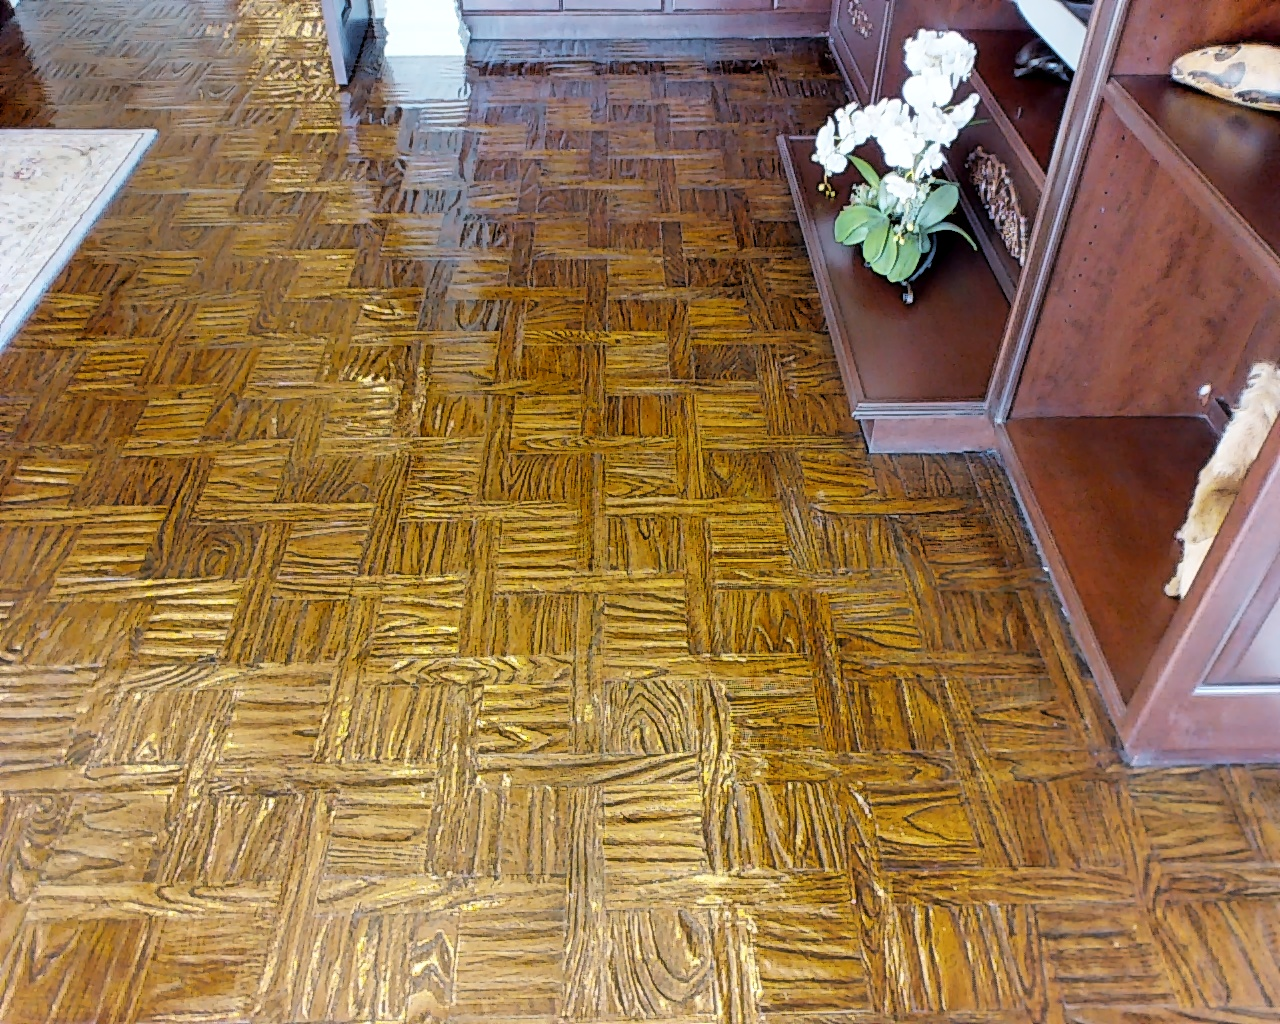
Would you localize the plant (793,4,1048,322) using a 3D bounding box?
[{"bbox_3d":[0.600,-0.820,2.460,0.350,0.470,0.660,-1,42,-2],"label":"plant"}]
